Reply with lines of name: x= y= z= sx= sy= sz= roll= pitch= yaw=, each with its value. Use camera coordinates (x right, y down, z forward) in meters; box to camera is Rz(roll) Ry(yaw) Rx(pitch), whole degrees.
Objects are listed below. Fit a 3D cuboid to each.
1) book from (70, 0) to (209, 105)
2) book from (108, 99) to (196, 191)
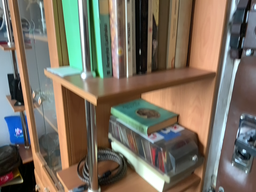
book: x=0.030 y=-0.200 z=0.600 sx=0.300 sy=0.340 sz=0.230 roll=-13 pitch=24 yaw=-36
book: x=0.070 y=0.190 z=0.770 sx=0.190 sy=0.270 sz=0.240 roll=-11 pitch=23 yaw=-31
